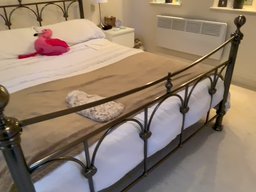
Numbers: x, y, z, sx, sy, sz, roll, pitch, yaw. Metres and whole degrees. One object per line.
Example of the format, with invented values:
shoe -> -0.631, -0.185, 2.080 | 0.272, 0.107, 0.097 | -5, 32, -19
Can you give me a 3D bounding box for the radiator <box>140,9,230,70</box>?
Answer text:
radiator -> 0.680, -0.830, 2.930 | 0.140, 0.590, 1.290 | -25, 37, -35
